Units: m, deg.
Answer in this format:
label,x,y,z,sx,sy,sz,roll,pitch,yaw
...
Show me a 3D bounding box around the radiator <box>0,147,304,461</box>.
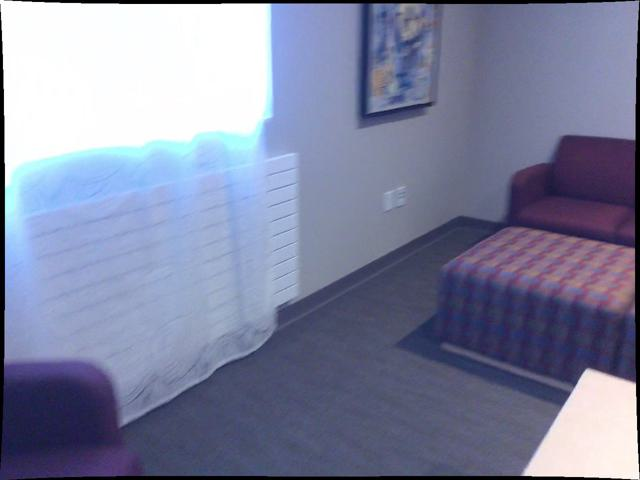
label,x,y,z,sx,sy,sz,roll,pitch,yaw
radiator,-0.669,0.170,2.170,0.070,0.761,1.759,15,25,36
